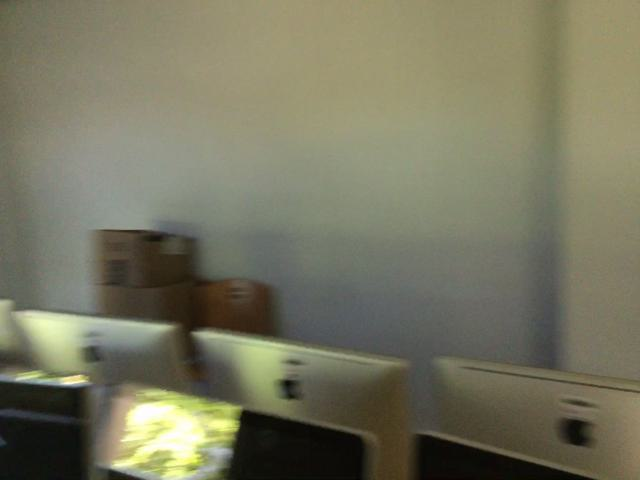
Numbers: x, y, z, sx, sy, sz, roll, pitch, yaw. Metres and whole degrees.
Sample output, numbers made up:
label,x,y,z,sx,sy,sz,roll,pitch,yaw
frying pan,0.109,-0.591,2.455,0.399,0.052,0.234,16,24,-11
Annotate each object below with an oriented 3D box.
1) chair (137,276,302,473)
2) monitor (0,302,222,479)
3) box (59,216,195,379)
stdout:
label,x,y,z,sx,sy,sz,roll,pitch,yaw
chair,-0.500,0.660,3.050,0.610,0.800,0.540,2,12,23
monitor,-0.550,0.420,1.500,0.540,0.440,0.180,2,12,23
box,-1.020,0.280,3.110,0.470,0.760,0.410,2,12,23
